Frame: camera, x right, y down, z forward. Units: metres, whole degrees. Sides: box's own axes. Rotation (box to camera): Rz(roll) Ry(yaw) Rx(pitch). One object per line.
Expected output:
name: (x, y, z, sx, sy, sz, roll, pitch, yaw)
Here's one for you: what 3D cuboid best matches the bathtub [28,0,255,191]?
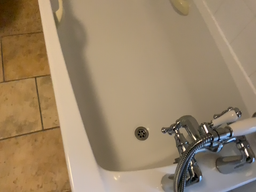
bathtub: (-0.100, -0.340, 1.110, 0.680, 0.540, 1.670, -11, 68, -16)
